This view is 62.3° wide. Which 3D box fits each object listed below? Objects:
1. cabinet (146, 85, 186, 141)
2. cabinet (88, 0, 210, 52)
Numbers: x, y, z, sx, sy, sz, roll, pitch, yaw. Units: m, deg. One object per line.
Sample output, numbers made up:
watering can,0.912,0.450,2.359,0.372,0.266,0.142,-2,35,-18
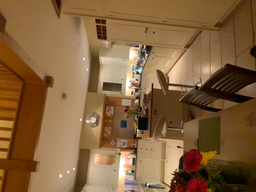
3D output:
cabinet,0.880,0.410,4.950,0.520,0.770,1.180,113,162,-77
cabinet,0.380,-1.680,4.620,1.350,2.270,0.660,110,165,-75
